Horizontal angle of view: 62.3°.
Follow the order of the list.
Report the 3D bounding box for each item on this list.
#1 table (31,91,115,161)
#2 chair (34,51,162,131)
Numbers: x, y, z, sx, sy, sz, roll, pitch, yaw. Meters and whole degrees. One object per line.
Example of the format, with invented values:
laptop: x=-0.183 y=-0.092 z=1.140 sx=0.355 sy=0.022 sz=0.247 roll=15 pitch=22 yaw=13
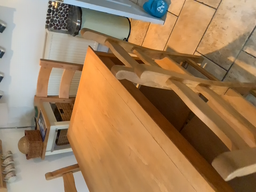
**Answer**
table: x=-0.730 y=0.340 z=2.750 sx=0.590 sy=0.820 sz=0.570 roll=49 pitch=129 yaw=42
chair: x=-0.270 y=-0.050 z=1.960 sx=0.450 sy=0.990 sz=0.450 roll=52 pitch=130 yaw=40
